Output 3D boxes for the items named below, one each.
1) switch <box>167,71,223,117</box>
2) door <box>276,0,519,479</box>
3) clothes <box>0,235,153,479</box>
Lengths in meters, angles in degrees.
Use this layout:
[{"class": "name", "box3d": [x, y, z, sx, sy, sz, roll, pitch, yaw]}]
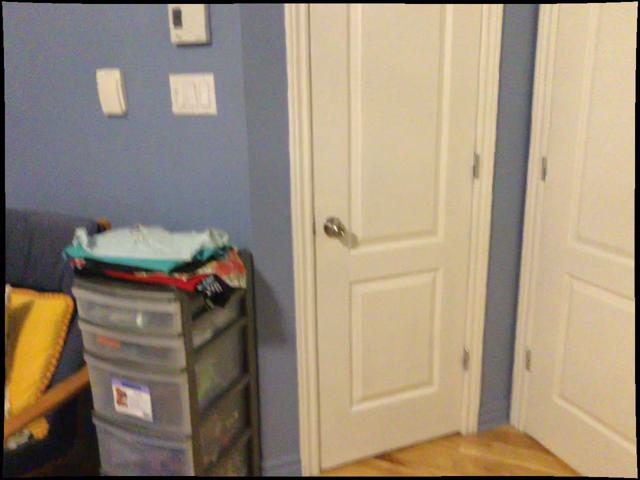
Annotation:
[{"class": "switch", "box3d": [-0.380, -0.440, 1.750, 0.170, 0.130, 0.030, 5, 16, 24]}, {"class": "door", "box3d": [0.270, -0.330, 1.870, 0.749, 2.302, 0.150, -10, 19, -20]}, {"class": "clothes", "box3d": [-1.109, 0.561, 1.790, 0.769, 0.971, 0.710, 5, 19, 23]}]
